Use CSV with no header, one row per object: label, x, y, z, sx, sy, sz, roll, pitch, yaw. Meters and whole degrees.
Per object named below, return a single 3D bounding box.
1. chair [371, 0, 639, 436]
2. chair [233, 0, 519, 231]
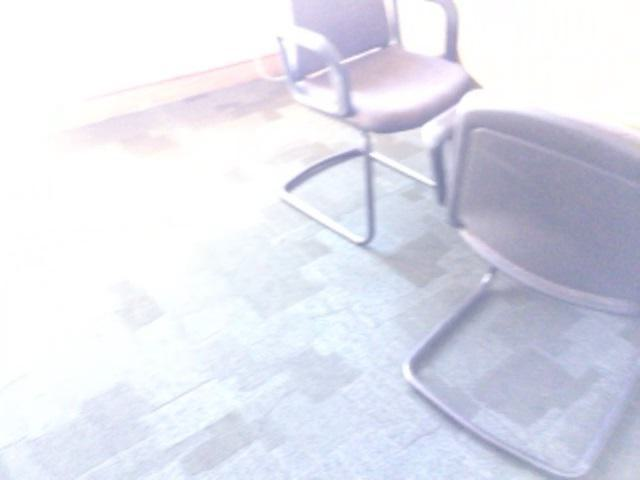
chair,0.530,-0.120,1.160,0.560,0.480,0.640,-25,43,-26
chair,0.190,-0.570,1.900,0.580,0.680,0.680,28,47,33
